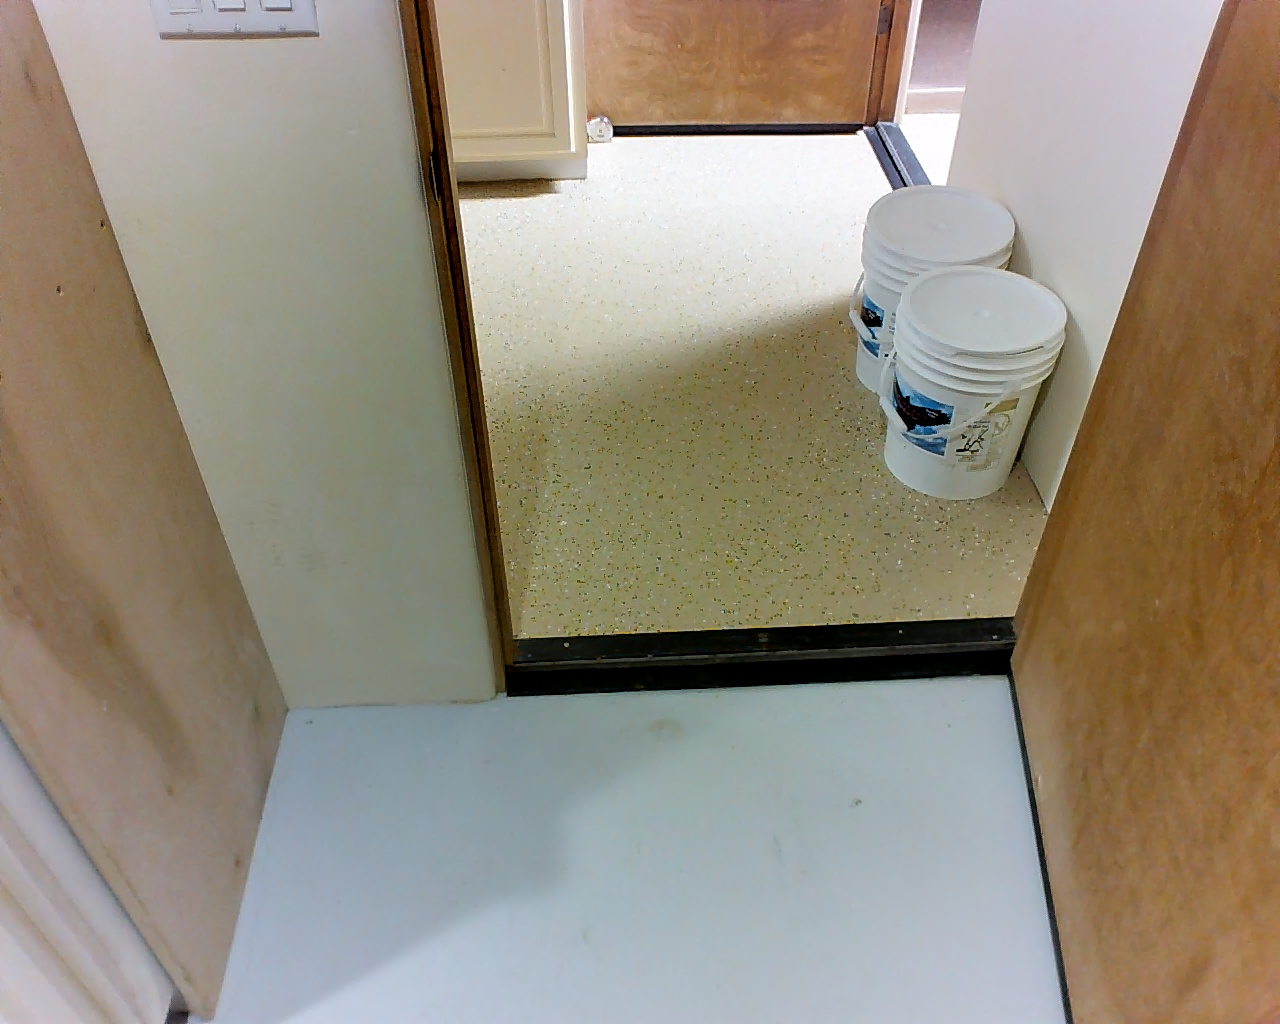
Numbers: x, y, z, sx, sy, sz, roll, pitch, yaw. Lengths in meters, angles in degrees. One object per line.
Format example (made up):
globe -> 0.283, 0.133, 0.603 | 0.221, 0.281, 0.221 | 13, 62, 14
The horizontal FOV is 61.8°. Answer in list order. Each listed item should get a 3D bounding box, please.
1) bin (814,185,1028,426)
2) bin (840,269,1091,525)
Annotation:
bin -> 0.600, -0.460, 2.380 | 0.320, 0.390, 0.350 | -3, 42, -3
bin -> 0.620, -0.230, 2.130 | 0.330, 0.370, 0.330 | -3, 42, -3
